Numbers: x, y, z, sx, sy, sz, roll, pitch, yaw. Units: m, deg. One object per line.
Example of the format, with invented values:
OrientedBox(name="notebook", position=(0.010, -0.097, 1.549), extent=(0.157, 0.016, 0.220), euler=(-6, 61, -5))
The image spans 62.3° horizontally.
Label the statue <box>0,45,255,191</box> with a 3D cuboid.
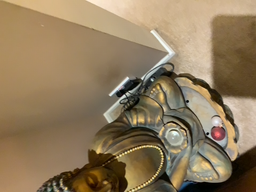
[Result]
OrientedBox(name="statue", position=(0.100, 0.240, 0.840), extent=(0.560, 0.780, 0.530), euler=(-41, 75, 26))
